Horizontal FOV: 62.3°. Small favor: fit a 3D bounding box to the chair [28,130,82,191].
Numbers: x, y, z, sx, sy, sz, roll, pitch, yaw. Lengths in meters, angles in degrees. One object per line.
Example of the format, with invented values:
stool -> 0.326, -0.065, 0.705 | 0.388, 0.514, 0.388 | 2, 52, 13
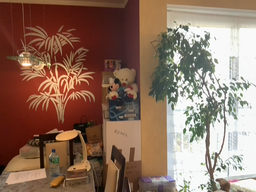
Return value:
chair -> -0.640, 0.900, 2.010 | 0.390, 1.020, 0.570 | -1, 4, -11
